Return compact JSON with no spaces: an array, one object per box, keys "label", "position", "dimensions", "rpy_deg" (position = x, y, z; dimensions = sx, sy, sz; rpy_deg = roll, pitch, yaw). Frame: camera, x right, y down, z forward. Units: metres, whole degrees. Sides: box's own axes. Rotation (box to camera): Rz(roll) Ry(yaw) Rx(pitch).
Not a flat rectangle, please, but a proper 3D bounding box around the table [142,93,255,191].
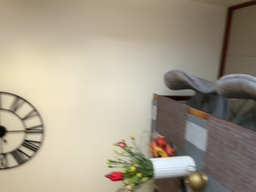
[{"label":"table","position":[0.680,0.450,1.400],"dimensions":[1.240,0.740,0.750],"rpy_deg":[-151,63,-71]}]
